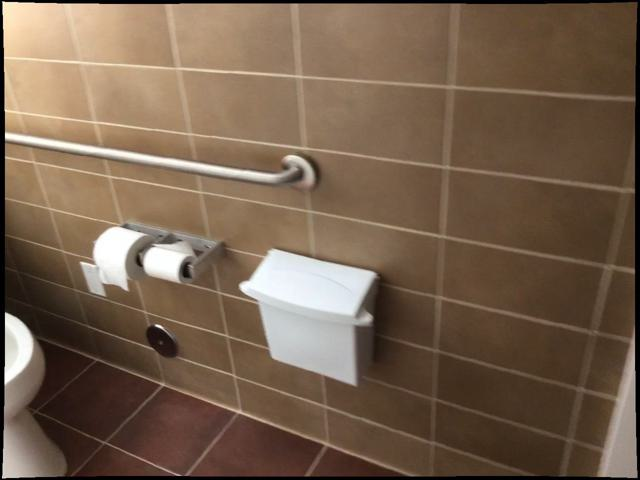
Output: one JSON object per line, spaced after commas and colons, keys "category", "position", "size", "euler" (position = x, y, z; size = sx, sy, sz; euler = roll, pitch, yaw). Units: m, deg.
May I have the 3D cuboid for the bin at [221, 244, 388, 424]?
{"category": "bin", "position": [-0.030, 0.221, 1.390], "size": [0.349, 0.351, 0.130], "euler": [10, 33, 26]}

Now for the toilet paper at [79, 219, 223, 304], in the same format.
{"category": "toilet paper", "position": [-0.449, 0.050, 1.530], "size": [0.349, 0.110, 0.140], "euler": [10, 33, 26]}
